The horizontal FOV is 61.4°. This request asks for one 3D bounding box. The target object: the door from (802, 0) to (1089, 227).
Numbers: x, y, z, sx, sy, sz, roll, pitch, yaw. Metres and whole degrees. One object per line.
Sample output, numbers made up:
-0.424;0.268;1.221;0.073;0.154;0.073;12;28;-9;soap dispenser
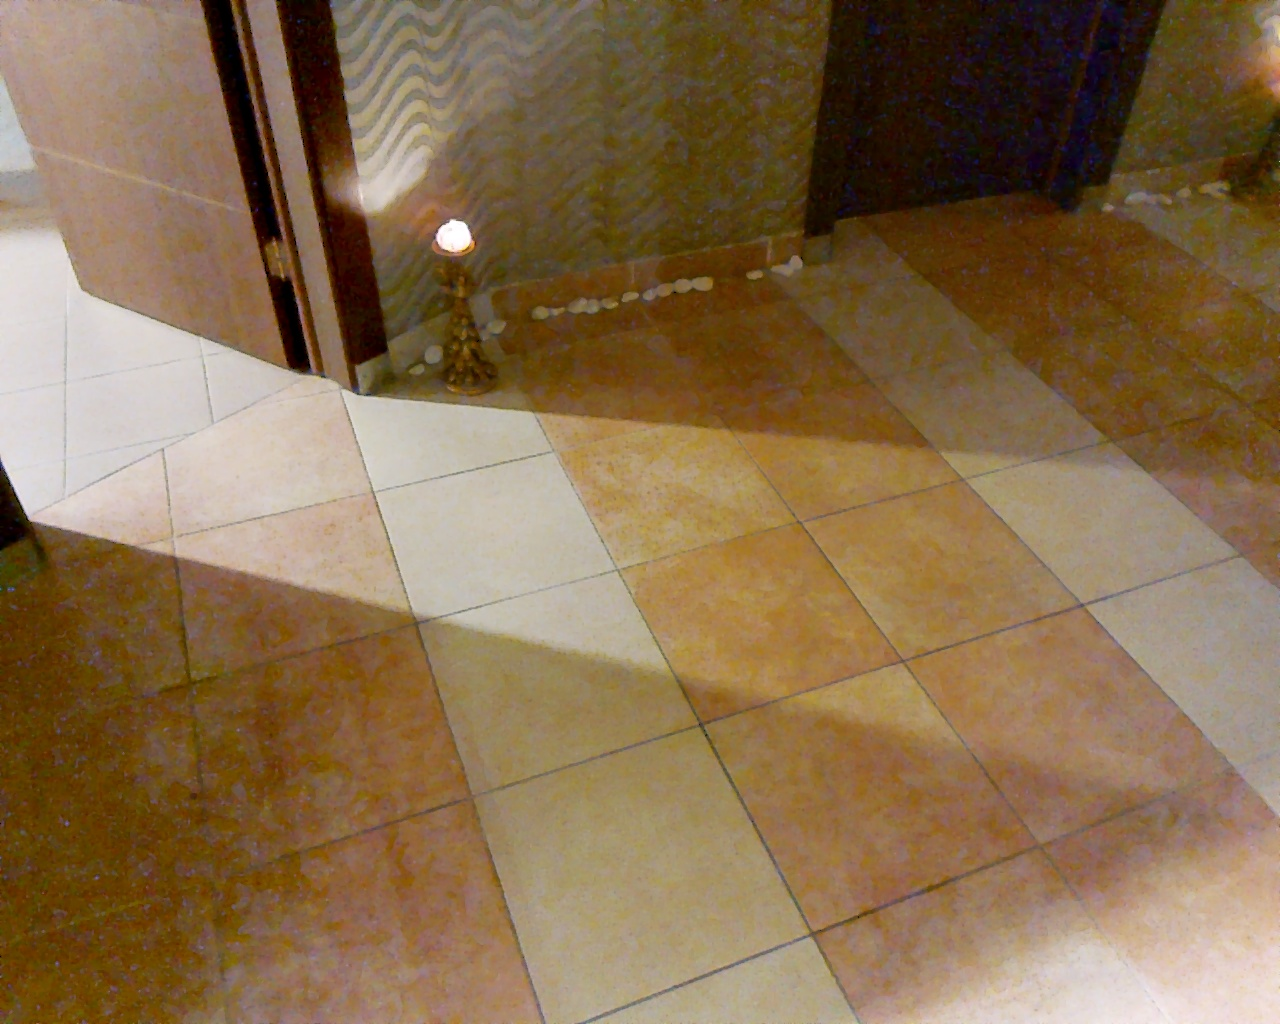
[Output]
0.950;-1.810;2.820;0.850;2.140;0.070;-14;45;-16;door
